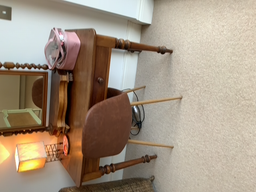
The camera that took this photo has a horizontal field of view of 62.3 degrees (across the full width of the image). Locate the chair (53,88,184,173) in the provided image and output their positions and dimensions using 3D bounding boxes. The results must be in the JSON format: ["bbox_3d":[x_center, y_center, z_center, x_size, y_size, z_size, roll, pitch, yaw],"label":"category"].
[{"bbox_3d":[-0.060,0.180,1.590,0.490,0.830,0.420,11,100,53],"label":"chair"}]

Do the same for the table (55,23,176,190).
[{"bbox_3d":[-0.130,0.040,1.770,0.530,0.740,1.090,20,107,51],"label":"table"}]
